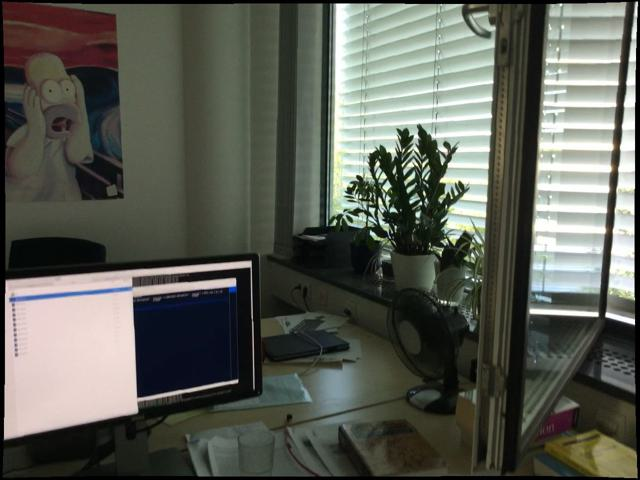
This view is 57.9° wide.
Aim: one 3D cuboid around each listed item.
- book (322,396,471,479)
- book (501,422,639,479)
[{"bbox_3d":[0.170,0.470,1.360,0.230,0.050,0.280,-6,11,-25],"label":"book"},{"bbox_3d":[0.539,0.490,1.200,0.200,0.080,0.240,-6,11,-25],"label":"book"}]
